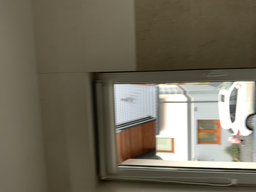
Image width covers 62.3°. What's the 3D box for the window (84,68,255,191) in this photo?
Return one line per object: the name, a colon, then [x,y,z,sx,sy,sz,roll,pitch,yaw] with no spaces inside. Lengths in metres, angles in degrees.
window: [0.410,0.230,1.520,0.320,1.350,0.820,-46,-45,-79]
